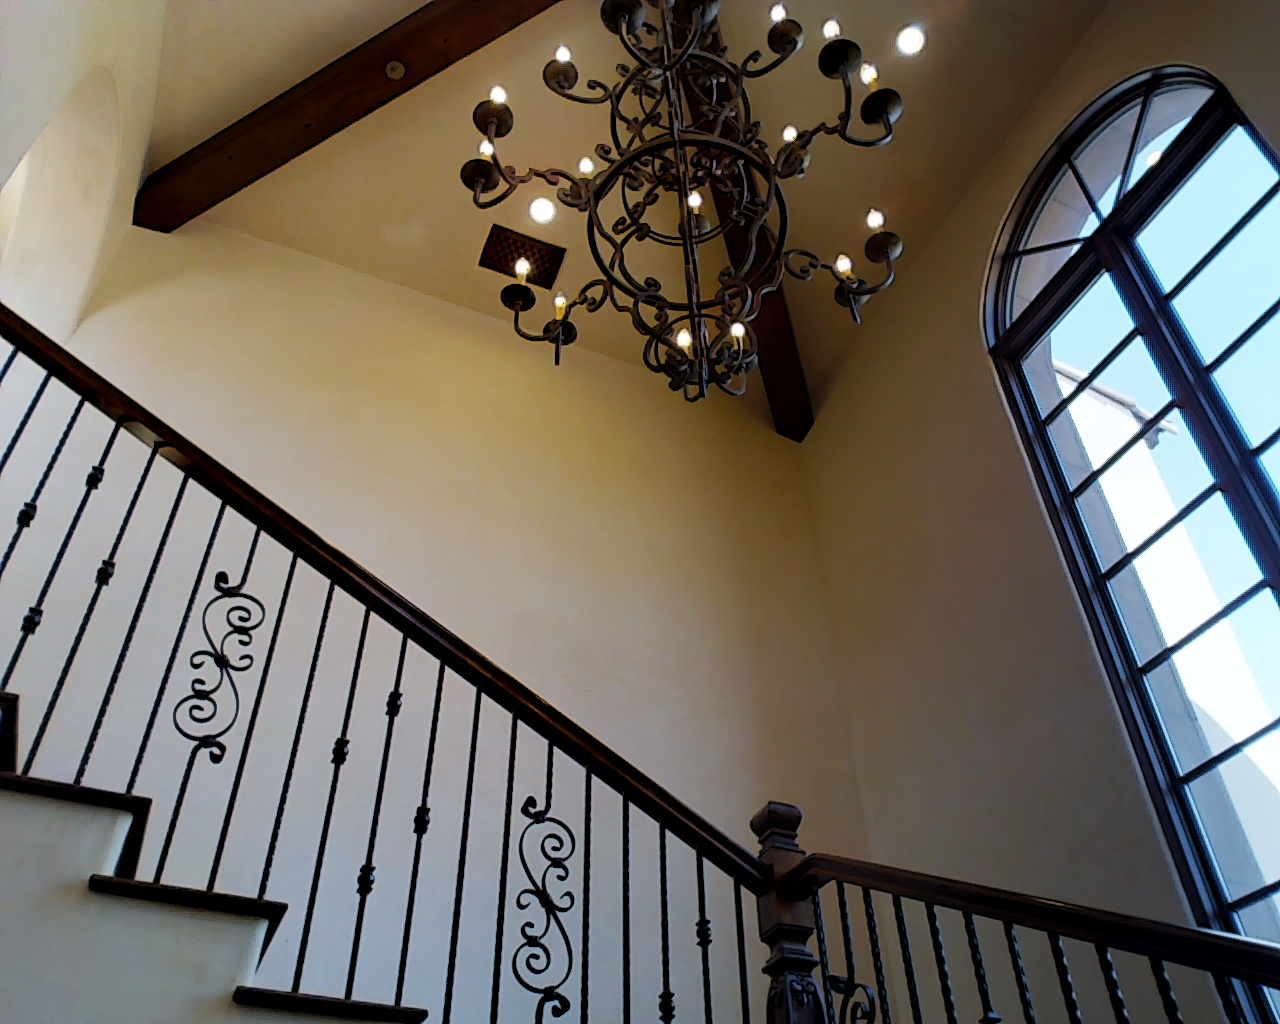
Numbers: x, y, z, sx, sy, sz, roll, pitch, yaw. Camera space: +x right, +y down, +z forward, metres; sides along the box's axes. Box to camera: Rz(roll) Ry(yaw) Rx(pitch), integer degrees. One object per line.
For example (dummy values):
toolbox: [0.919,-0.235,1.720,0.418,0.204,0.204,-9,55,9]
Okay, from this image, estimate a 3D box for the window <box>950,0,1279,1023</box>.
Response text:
window: [1.770,-0.250,3.280,0.190,3.410,1.290,16,-44,-19]

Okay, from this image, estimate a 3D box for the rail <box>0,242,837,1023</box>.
rail: [-0.720,0.500,2.380,2.520,2.410,0.080,16,-44,-19]
